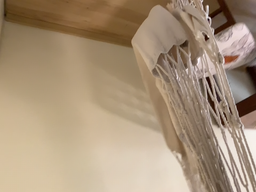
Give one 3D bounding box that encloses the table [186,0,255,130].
[{"bbox_3d":[1.250,-0.240,1.820,0.920,0.780,0.920,6,150,-28],"label":"table"}]
